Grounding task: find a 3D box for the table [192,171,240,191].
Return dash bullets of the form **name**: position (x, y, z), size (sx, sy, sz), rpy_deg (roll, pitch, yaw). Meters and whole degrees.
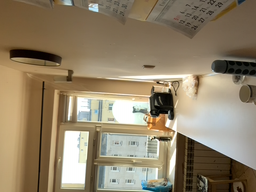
- **table**: position (1.040, 1.100, 2.540), size (0.250, 0.450, 0.300), rpy_deg (163, 111, -84)
